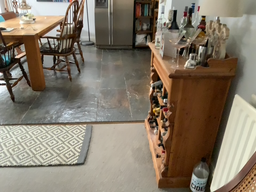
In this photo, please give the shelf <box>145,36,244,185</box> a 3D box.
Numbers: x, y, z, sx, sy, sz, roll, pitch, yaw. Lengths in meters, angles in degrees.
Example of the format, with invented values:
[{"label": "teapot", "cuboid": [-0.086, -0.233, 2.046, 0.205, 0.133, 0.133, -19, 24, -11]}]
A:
[{"label": "shelf", "cuboid": [0.420, 0.060, 1.780, 0.420, 0.930, 0.860, 0, 26, -2]}]
